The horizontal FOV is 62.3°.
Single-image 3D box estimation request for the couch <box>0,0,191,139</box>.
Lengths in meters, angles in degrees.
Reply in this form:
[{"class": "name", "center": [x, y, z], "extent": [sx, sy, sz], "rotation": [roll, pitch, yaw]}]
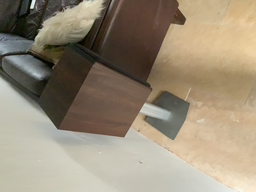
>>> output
[{"class": "couch", "center": [-0.630, -0.480, 1.720], "extent": [1.880, 0.720, 0.860], "rotation": [23, 91, 39]}]
